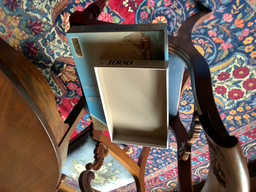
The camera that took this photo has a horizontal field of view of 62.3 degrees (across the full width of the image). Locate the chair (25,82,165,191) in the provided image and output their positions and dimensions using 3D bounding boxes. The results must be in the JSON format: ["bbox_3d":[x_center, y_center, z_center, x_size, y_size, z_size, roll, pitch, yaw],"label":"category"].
[{"bbox_3d":[-0.190,0.490,1.300,0.550,0.910,0.530,-32,116,34],"label":"chair"}]
